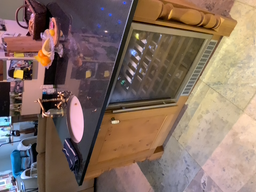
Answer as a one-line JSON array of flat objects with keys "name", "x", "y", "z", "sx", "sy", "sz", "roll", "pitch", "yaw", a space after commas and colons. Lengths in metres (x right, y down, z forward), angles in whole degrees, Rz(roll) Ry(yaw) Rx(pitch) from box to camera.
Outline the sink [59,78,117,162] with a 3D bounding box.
[{"name": "sink", "x": -0.360, "y": 0.180, "z": 1.750, "sx": 0.490, "sy": 0.220, "sz": 0.460, "roll": 49, "pitch": 131, "yaw": 40}]
